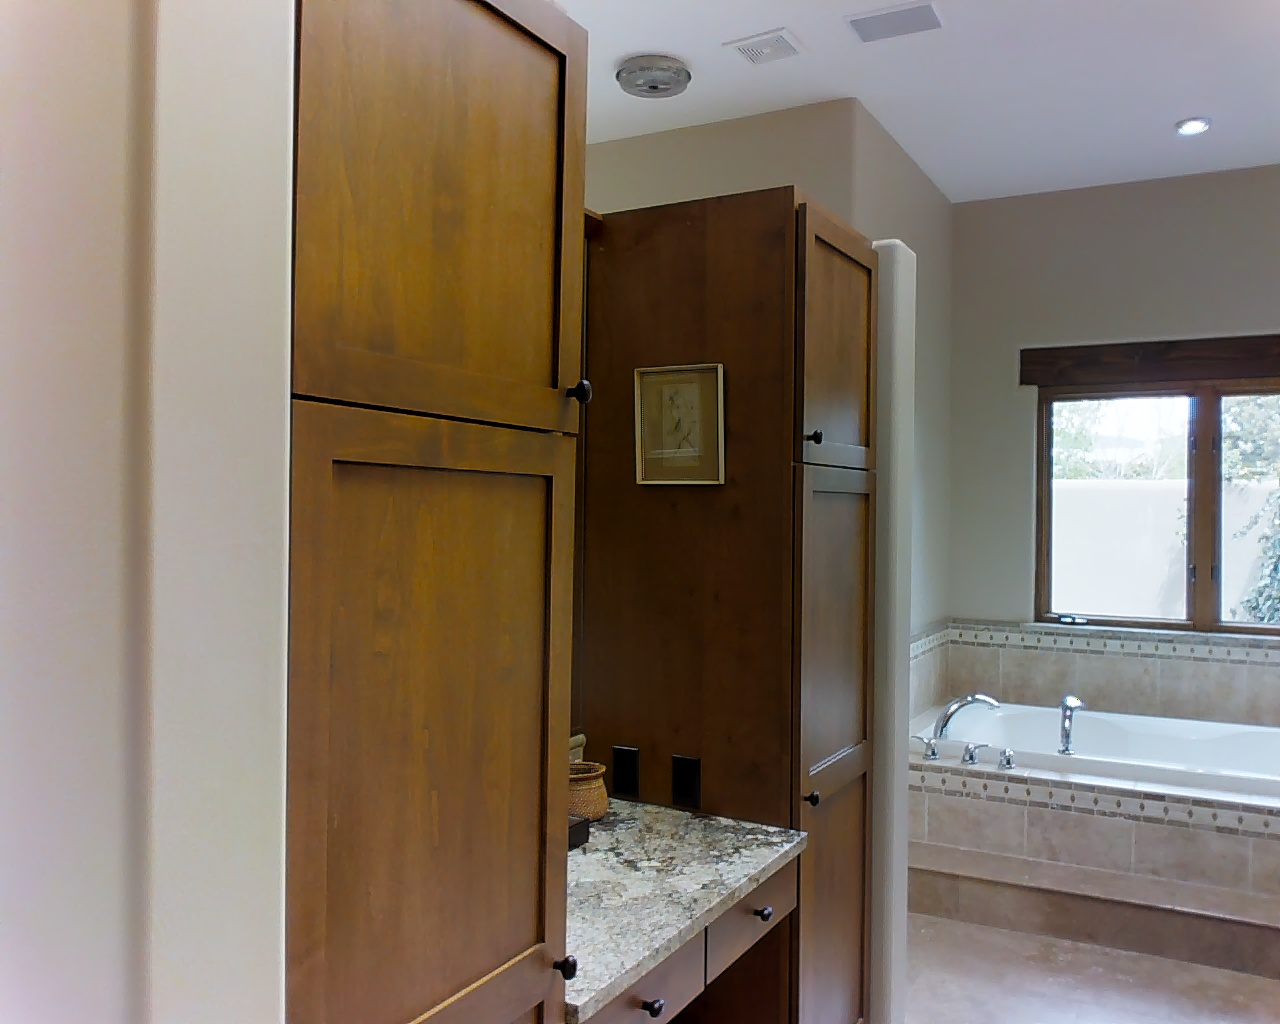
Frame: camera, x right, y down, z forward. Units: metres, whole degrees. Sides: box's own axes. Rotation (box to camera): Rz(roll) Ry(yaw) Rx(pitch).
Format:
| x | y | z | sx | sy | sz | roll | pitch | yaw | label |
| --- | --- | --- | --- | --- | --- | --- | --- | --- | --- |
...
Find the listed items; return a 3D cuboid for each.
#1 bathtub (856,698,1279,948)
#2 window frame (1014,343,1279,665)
| x | y | z | sx | sy | sz | roll | pitch | yaw | label |
| --- | --- | --- | --- | --- | --- | --- | --- | --- | --- |
| 2.229 | 1.200 | 4.320 | 2.300 | 0.460 | 1.580 | 1 | 0 | 28 | bathtub |
| 2.669 | -0.040 | 5.040 | 1.680 | 1.440 | 0.220 | 1 | 0 | 28 | window frame |
